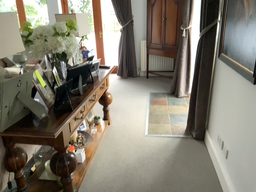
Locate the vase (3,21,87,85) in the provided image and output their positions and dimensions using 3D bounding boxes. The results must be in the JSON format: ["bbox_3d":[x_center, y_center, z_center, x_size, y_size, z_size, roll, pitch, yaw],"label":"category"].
[{"bbox_3d":[-0.710,-0.410,1.940,0.480,0.490,0.460,2,22,10],"label":"vase"}]

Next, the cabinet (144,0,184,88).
[{"bbox_3d":[0.650,-1.200,4.190,0.680,1.900,0.820,0,21,4],"label":"cabinet"}]
